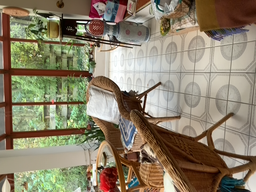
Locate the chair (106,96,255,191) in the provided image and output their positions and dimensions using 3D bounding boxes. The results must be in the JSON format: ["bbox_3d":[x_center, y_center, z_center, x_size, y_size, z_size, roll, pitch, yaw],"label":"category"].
[{"bbox_3d":[0.380,0.460,1.270,0.700,0.810,0.720,-133,47,-60],"label":"chair"}]

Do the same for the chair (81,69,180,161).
[{"bbox_3d":[-0.040,0.190,2.370,0.660,0.810,0.690,-115,32,-47],"label":"chair"}]
